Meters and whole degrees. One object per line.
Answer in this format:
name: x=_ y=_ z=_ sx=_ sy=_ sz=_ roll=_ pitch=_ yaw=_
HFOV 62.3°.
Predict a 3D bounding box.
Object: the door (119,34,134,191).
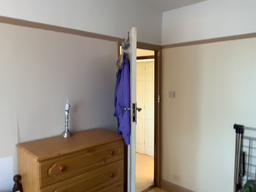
door: x=-0.030 y=0.450 z=2.160 sx=0.050 sy=1.950 sz=0.810 roll=-1 pitch=5 yaw=-8
